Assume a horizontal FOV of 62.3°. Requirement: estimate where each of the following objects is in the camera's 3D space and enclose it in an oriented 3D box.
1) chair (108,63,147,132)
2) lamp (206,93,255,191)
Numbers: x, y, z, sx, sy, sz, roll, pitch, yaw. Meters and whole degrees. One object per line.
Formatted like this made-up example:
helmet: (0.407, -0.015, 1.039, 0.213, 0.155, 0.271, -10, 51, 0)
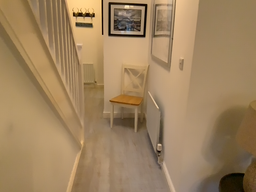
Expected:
chair: (0.000, 0.000, 3.230, 0.490, 0.900, 0.520, 4, 17, 7)
lamp: (0.780, 0.330, 1.260, 0.360, 0.570, 0.500, 1, 17, -3)
